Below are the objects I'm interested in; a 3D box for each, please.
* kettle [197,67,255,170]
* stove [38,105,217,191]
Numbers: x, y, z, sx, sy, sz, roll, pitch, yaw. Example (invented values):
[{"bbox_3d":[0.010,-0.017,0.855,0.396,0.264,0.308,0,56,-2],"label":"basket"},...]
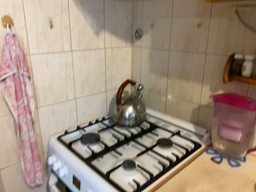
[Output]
[{"bbox_3d":[0.440,0.080,0.890,0.140,0.360,0.200,-16,25,-41],"label":"kettle"},{"bbox_3d":[-0.010,0.280,1.060,0.600,0.160,0.630,-17,26,-41],"label":"stove"}]
